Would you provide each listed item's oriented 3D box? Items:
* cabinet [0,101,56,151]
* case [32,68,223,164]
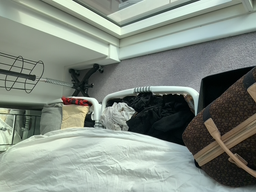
[{"bbox_3d":[-0.990,0.250,1.830,0.420,0.530,0.360,-3,81,38],"label":"cabinet"},{"bbox_3d":[-0.100,0.110,1.300,1.200,0.350,0.360,-2,82,38],"label":"case"}]
